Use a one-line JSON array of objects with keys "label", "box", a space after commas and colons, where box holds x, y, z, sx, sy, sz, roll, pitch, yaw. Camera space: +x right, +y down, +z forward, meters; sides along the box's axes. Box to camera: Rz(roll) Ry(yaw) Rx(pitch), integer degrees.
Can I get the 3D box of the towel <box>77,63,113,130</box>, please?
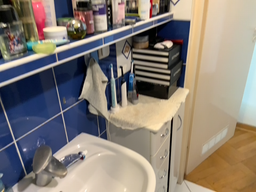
[{"label": "towel", "box": [-0.140, 0.000, 0.950, 0.060, 0.260, 0.140, 15, 32, 29]}]
